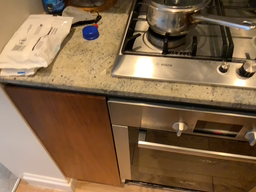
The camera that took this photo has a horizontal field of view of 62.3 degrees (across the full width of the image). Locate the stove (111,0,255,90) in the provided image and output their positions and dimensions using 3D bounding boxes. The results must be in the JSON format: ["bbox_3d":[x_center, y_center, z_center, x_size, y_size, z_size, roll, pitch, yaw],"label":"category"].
[{"bbox_3d":[0.290,-0.250,0.680,0.570,0.030,0.580,7,50,8],"label":"stove"}]

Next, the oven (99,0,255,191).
[{"bbox_3d":[0.290,0.070,1.020,0.590,0.900,0.630,7,50,8],"label":"oven"}]
